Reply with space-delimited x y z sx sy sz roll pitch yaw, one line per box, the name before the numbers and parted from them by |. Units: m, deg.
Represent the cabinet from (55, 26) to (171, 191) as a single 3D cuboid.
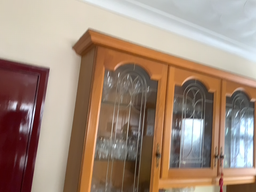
cabinet | -0.100 0.330 1.290 0.540 1.310 0.320 9 -8 -28
